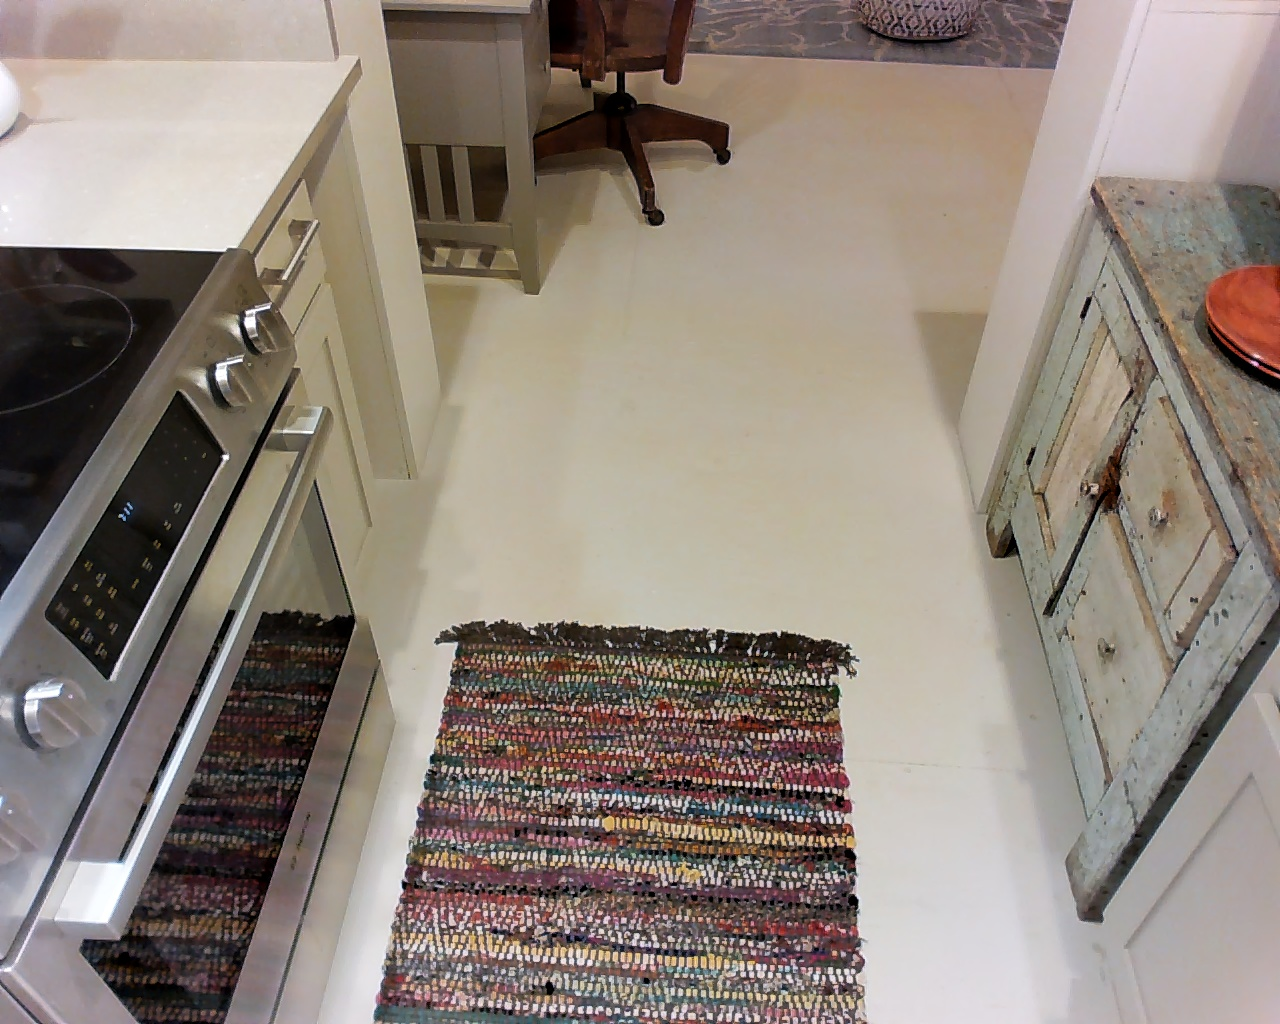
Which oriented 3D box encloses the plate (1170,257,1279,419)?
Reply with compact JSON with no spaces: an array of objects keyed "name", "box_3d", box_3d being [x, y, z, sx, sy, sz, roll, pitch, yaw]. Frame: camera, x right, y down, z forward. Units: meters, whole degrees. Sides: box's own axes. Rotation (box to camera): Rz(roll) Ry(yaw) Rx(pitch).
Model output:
[{"name":"plate","box_3d":[0.890,-0.230,1.410,0.280,0.040,0.310,3,44,3]}]
